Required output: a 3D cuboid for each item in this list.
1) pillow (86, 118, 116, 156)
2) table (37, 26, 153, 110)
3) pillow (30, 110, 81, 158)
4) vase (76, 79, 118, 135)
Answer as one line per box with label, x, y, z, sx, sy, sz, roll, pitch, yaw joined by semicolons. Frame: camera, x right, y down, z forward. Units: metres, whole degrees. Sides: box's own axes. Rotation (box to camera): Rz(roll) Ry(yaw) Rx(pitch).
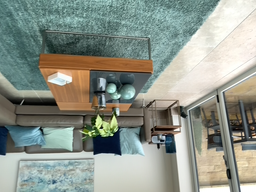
pillow;-0.440;0.670;3.460;0.340;0.490;0.260;-17;165;-13
table;-0.320;-0.160;2.080;0.800;0.310;1.180;2;163;-10
pillow;-1.150;0.620;3.410;0.450;0.580;0.330;-44;171;-16
vase;-0.260;0.110;1.900;0.330;0.440;0.320;0;163;-4
